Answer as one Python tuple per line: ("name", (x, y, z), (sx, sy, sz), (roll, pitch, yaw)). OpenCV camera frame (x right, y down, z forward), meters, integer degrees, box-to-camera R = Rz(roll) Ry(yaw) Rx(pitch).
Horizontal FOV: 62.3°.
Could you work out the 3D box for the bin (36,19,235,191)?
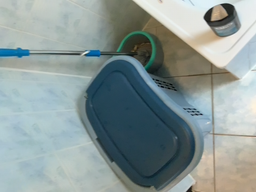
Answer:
("bin", (0.050, 0.050, 1.100), (0.800, 0.590, 0.370), (44, 111, 25))
